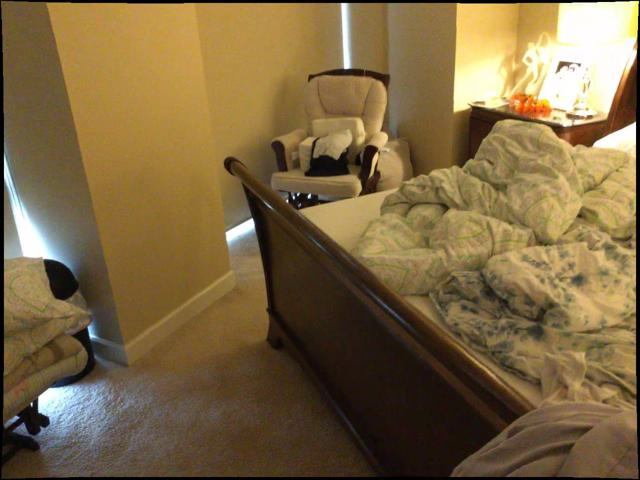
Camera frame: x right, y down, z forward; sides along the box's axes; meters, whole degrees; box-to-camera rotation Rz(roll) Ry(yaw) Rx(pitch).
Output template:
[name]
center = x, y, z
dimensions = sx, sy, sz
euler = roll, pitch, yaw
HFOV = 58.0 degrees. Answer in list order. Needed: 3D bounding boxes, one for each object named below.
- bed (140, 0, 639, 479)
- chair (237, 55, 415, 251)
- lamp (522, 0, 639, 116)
[bed]
center = 1.018, 0.000, 1.930
dimensions = 2.635, 1.323, 2.140
euler = -13, 28, -20
[chair]
center = 0.100, -0.611, 3.710
dimensions = 0.808, 0.962, 0.940
euler = 7, 27, 20
[lamp]
center = 1.476, -1.063, 3.200
dimensions = 0.409, 0.601, 0.460
euler = -13, 28, -20
